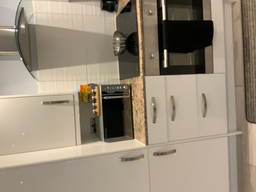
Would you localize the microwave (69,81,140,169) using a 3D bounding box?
[{"bbox_3d":[-0.230,0.180,1.780,0.600,0.440,0.580,-171,78,-70],"label":"microwave"}]
